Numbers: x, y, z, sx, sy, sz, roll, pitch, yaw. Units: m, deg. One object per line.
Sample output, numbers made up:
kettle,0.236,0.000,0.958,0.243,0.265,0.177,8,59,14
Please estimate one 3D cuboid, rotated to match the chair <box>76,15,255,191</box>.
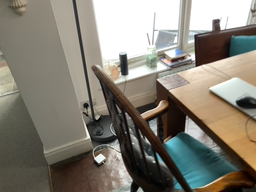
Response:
chair,0.220,0.280,1.100,0.630,1.130,0.540,-17,38,-16
